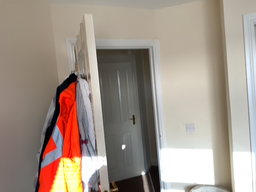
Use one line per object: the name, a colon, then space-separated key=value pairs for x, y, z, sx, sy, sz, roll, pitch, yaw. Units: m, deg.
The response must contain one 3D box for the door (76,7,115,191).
door: x=-0.230 y=0.520 z=1.550 sx=0.060 sy=1.970 sz=0.890 roll=-6 pitch=3 yaw=-17
